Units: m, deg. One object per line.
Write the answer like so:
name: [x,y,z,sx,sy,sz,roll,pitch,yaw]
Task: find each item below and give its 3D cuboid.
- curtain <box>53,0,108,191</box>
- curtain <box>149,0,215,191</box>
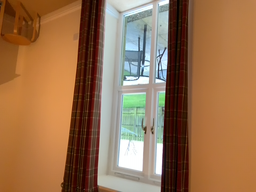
curtain: [-0.470,-0.120,2.190,0.420,2.380,0.140,-2,171,32]
curtain: [0.410,-0.190,1.560,0.400,2.180,0.180,-2,171,32]
